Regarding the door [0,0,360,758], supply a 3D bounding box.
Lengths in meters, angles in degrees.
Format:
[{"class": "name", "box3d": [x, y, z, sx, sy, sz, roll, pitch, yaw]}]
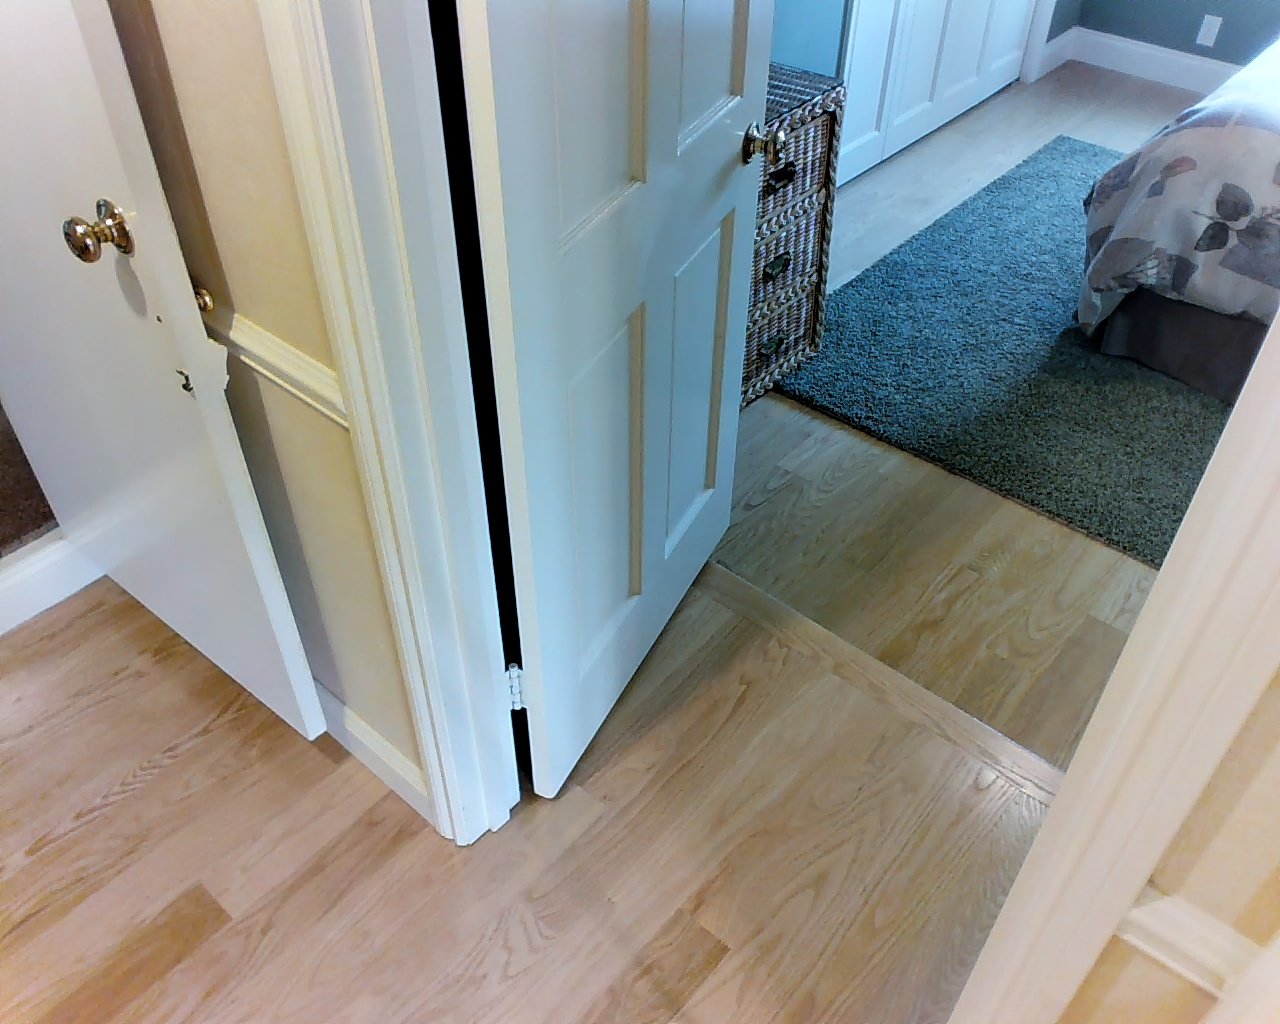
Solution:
[{"class": "door", "box3d": [-0.800, -0.400, 1.430, 0.770, 1.660, 0.090, 29, 49, 28]}]

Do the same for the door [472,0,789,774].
[{"class": "door", "box3d": [0.030, -0.490, 1.420, 0.050, 1.920, 0.710, 20, 45, 20]}]
